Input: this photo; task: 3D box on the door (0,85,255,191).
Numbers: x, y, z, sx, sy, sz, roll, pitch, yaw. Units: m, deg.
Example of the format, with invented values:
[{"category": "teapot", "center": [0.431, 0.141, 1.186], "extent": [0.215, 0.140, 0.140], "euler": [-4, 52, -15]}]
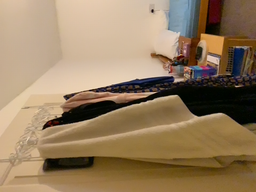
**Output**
[{"category": "door", "center": [0.410, 0.130, 1.080], "extent": [0.830, 1.990, 0.070], "euler": [-103, 12, -67]}]

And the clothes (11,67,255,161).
[{"category": "clothes", "center": [0.270, 0.020, 1.010], "extent": [0.580, 1.320, 0.160], "euler": [-103, 12, -68]}]

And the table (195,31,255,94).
[{"category": "table", "center": [1.050, -0.370, 2.170], "extent": [0.530, 0.490, 0.540], "euler": [-104, 13, -69]}]
